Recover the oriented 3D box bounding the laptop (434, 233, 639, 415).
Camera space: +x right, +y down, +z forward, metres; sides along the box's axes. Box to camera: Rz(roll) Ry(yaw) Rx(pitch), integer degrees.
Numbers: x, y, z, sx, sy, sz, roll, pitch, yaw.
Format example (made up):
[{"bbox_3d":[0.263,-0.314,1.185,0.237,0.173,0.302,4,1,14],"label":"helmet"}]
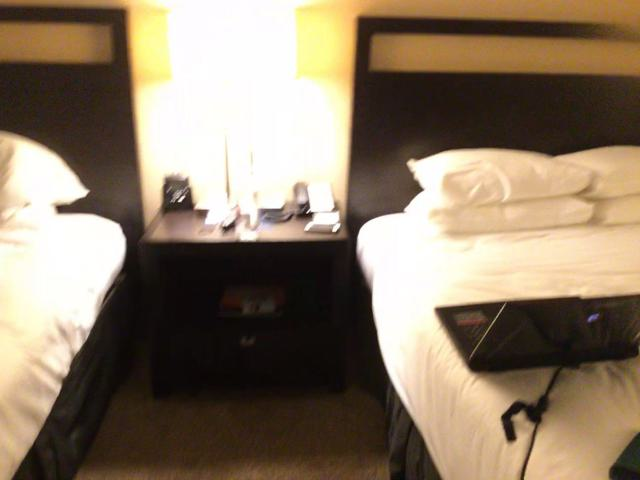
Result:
[{"bbox_3d":[0.540,0.170,1.370,0.420,0.260,0.430,-1,17,-3],"label":"laptop"}]
